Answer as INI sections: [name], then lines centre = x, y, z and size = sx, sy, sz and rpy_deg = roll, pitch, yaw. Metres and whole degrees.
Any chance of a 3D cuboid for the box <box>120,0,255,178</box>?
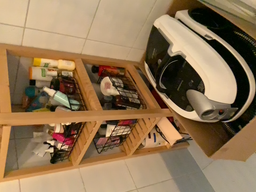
[box]
centre = 0.430, -0.130, 0.960
size = 0.510, 0.560, 0.690
rpy_deg = -59, 45, 35
